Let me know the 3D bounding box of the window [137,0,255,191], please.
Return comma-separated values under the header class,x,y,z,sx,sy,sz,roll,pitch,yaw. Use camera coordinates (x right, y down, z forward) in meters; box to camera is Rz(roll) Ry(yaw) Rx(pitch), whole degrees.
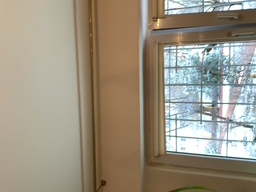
class,x,y,z,sx,sy,sz,roll,pitch,yaw
window,0.650,-0.610,1.290,0.150,1.190,2.400,-15,-74,-72
